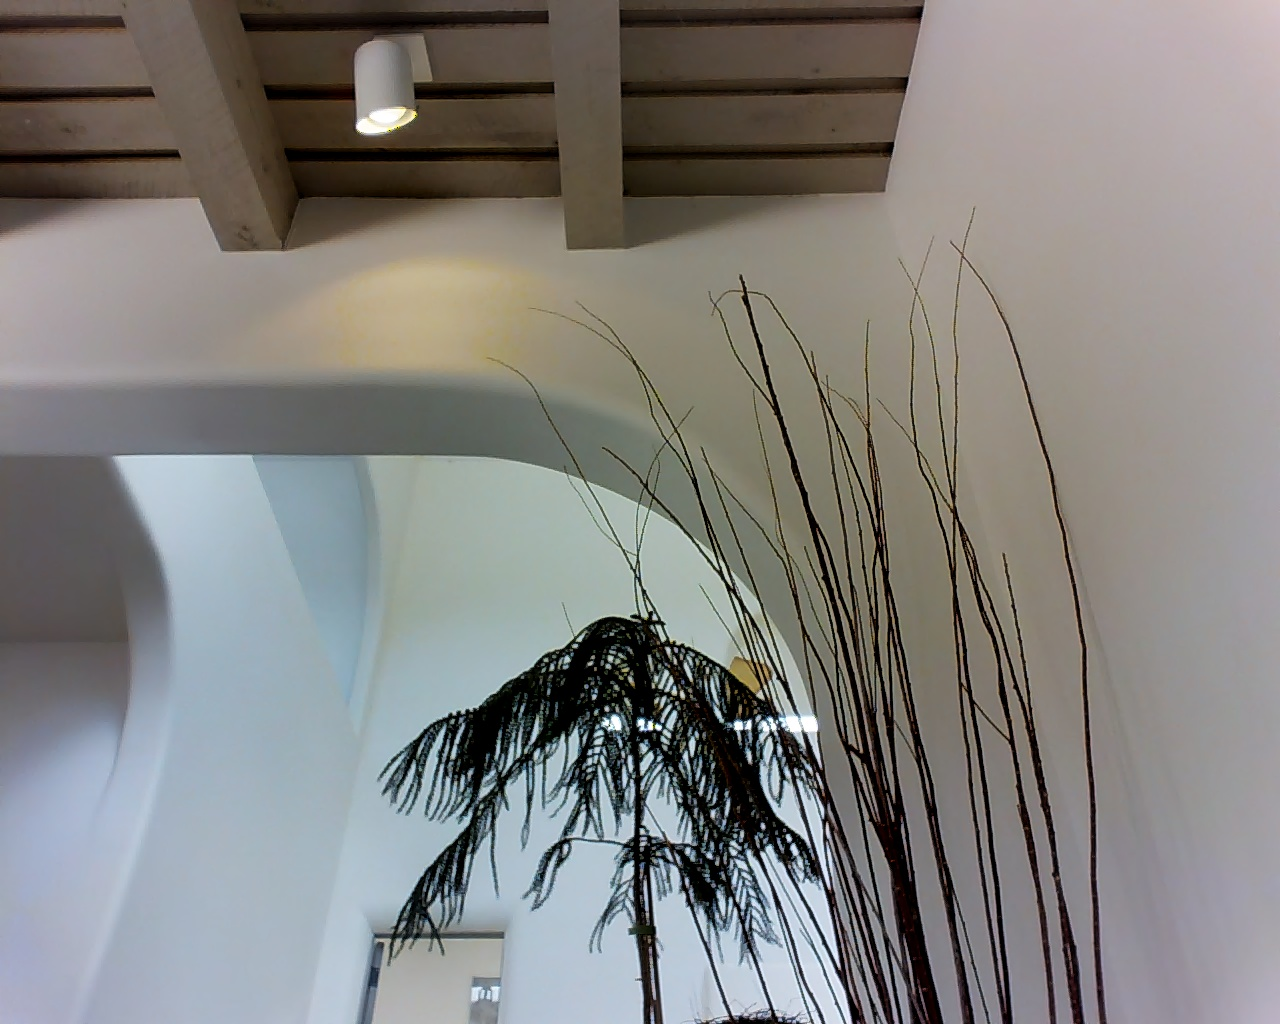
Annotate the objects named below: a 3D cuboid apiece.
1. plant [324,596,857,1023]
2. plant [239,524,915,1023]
[{"bbox_3d":[-0.060,0.870,2.100,0.860,1.260,0.630,-2,-44,4],"label":"plant"},{"bbox_3d":[-0.070,0.810,1.990,0.920,1.260,0.940,-1,-44,2],"label":"plant"}]
